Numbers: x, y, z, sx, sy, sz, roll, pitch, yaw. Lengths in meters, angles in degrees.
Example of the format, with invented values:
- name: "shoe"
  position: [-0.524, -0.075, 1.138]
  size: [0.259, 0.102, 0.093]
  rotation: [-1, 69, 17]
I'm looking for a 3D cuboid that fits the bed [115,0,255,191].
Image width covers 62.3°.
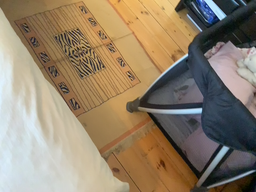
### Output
- name: "bed"
  position: [0.620, -0.040, 1.310]
  size: [0.960, 0.710, 0.820]
  rotation: [-36, 82, -28]
